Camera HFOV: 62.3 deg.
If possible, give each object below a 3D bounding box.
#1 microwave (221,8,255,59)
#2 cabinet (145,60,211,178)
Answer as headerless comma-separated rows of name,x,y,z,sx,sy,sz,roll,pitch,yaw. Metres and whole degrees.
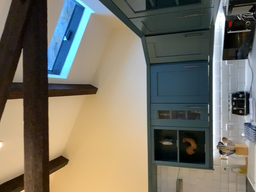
microwave,1.270,-0.730,2.490,0.410,0.260,0.420,-72,-25,-45
cabinet,0.670,0.280,2.850,0.300,0.810,1.450,-10,-81,-72
